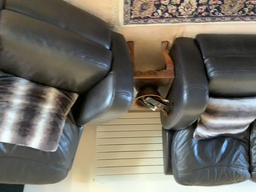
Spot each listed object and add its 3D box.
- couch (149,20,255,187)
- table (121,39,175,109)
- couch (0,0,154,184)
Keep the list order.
[{"bbox_3d":[1.370,0.160,1.830,2.150,0.960,1.200,-1,152,-3],"label":"couch"},{"bbox_3d":[0.130,-0.160,1.750,0.350,0.350,0.510,-1,152,-3],"label":"table"},{"bbox_3d":[-0.580,-0.010,1.350,0.980,0.930,0.990,17,146,-33],"label":"couch"}]
